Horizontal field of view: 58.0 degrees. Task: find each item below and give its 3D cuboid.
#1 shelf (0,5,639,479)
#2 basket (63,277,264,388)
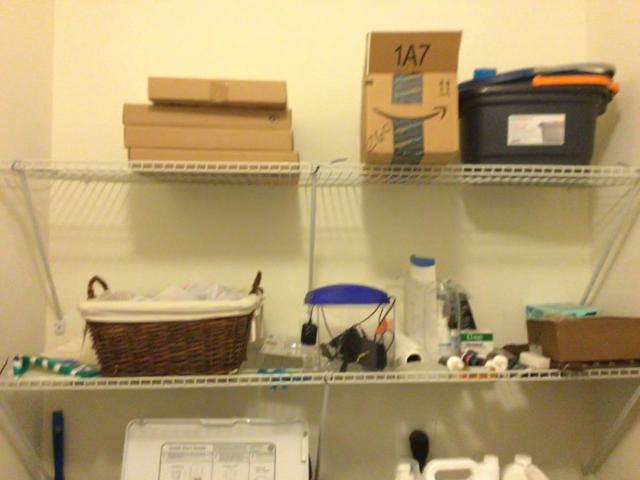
[{"bbox_3d":[0.030,0.080,1.550,1.650,1.120,0.610,0,-3,-3],"label":"shelf"},{"bbox_3d":[-0.370,0.220,1.480,0.440,0.250,0.310,0,-3,-3],"label":"basket"}]
